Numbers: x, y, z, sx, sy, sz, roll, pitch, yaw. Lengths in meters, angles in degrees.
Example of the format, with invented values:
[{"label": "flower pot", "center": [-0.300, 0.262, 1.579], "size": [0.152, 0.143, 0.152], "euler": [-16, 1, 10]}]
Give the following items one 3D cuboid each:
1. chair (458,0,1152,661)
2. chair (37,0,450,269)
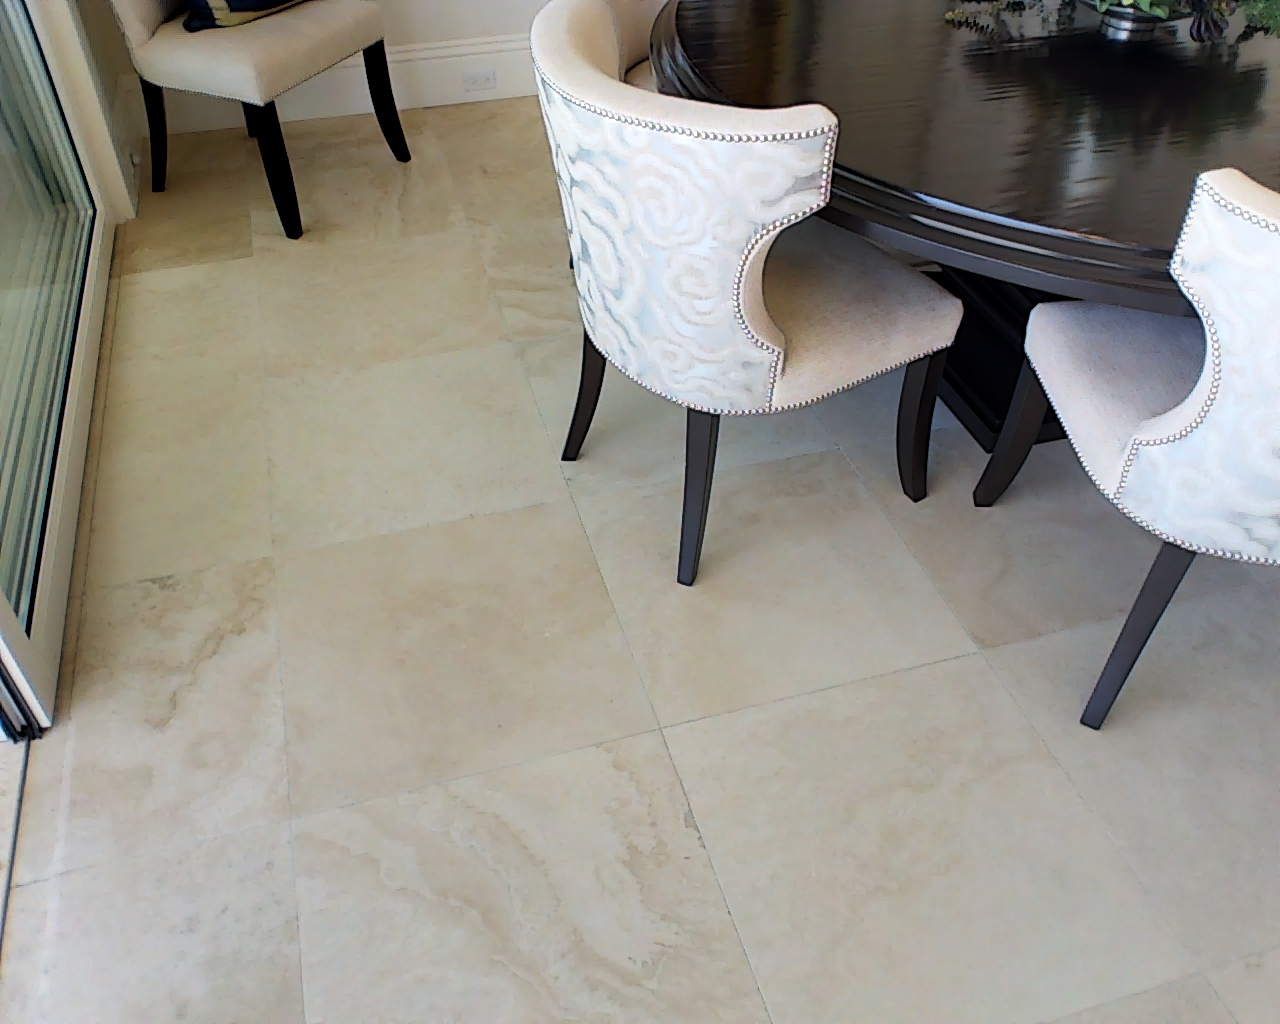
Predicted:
[{"label": "chair", "center": [0.230, -0.430, 1.990], "size": [0.800, 0.940, 0.730], "euler": [-22, 47, -23]}, {"label": "chair", "center": [-1.110, -1.370, 3.060], "size": [0.720, 0.950, 0.750], "euler": [20, 45, 20]}]
